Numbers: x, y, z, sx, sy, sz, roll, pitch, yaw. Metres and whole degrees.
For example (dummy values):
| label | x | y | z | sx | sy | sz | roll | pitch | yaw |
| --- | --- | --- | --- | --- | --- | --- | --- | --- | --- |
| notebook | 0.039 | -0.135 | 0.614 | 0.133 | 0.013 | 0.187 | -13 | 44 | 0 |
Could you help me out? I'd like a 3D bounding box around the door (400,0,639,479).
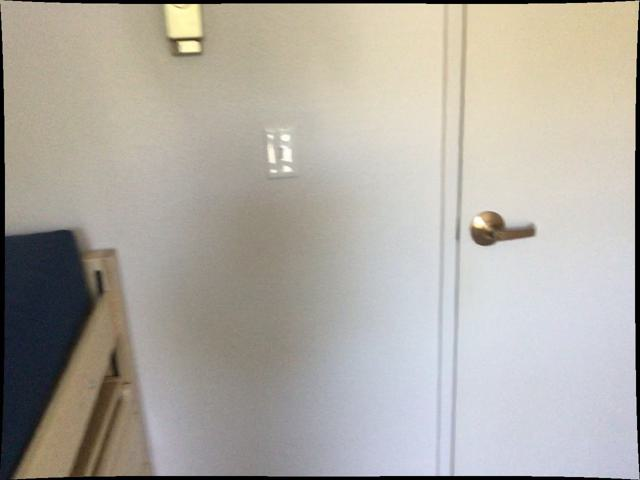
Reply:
| label | x | y | z | sx | sy | sz | roll | pitch | yaw |
| --- | --- | --- | --- | --- | --- | --- | --- | --- | --- |
| door | 0.679 | -0.150 | 1.450 | 0.968 | 2.143 | 0.090 | -6 | 17 | -10 |
